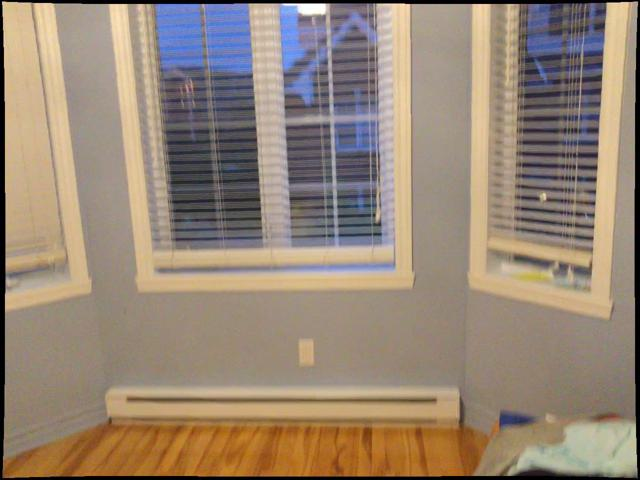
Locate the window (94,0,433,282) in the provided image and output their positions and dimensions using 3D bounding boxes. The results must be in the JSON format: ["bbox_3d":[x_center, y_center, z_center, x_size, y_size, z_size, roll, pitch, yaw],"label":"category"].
[{"bbox_3d":[-0.210,-0.501,2.540,1.359,1.331,0.260,-1,14,7],"label":"window"}]

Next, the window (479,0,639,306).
[{"bbox_3d":[0.839,-0.460,2.110,0.420,1.301,0.490,-1,14,7],"label":"window"}]
